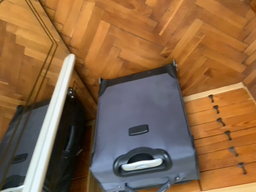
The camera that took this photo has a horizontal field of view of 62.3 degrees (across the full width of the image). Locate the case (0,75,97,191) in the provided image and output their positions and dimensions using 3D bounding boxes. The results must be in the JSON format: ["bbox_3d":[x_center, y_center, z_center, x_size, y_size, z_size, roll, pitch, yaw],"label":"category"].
[{"bbox_3d":[-0.480,0.280,1.140,0.440,0.610,0.390,-16,132,13],"label":"case"}]

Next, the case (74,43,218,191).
[{"bbox_3d":[0.080,0.120,1.010,0.460,0.660,0.330,-13,132,11],"label":"case"}]
